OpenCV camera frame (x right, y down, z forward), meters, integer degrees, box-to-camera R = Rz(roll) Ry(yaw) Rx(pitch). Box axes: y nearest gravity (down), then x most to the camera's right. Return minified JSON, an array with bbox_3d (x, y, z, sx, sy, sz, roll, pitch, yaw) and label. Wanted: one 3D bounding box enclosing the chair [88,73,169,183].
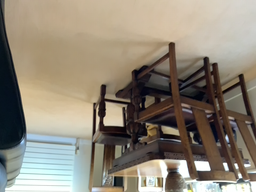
[{"bbox_3d":[-0.030,0.320,1.940,0.510,0.840,0.510,9,152,-22],"label":"chair"}]
